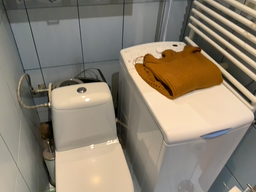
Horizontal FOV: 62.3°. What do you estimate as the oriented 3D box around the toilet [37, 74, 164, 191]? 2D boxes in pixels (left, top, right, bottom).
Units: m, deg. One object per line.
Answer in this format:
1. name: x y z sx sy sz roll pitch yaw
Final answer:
1. toilet: -0.190 0.410 1.120 0.380 0.780 0.640 -10 43 -16
